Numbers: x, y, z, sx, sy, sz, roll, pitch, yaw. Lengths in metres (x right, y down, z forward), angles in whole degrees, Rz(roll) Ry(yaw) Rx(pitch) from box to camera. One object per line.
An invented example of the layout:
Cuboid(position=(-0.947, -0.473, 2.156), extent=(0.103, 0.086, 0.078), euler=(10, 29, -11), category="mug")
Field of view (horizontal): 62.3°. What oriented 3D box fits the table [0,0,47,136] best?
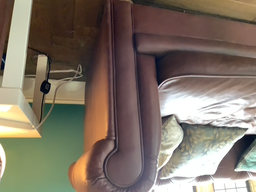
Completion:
Cuboid(position=(-0.630, -0.120, 0.850), extent=(0.500, 0.450, 0.700), euler=(2, 160, -16), category="table")
